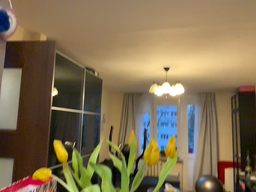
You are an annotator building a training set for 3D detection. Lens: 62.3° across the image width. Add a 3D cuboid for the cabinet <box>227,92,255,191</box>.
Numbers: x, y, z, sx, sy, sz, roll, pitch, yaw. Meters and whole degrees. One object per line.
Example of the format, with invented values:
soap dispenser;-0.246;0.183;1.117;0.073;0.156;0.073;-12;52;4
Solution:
cabinet;2.380;1.100;4.450;0.360;2.290;0.780;0;-7;14
